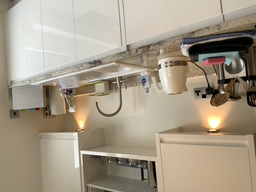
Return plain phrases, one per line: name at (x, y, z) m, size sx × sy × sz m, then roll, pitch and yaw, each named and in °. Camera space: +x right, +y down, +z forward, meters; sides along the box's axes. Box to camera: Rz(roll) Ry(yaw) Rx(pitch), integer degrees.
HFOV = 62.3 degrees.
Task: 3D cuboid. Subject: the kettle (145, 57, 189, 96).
kettle at (0.240, -0.110, 1.310) m, size 0.210 × 0.200 × 0.140 m, roll -6°, pitch 177°, yaw 35°
